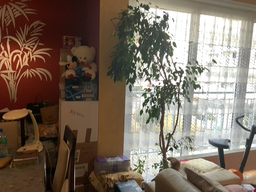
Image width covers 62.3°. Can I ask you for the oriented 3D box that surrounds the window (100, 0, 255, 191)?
[{"bbox_3d":[1.490,0.070,2.980,3.730,2.510,0.260,-1,9,-22],"label":"window"}]

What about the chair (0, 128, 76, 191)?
[{"bbox_3d":[-0.650,0.780,1.500,0.470,0.970,0.440,-1,9,-24],"label":"chair"}]
